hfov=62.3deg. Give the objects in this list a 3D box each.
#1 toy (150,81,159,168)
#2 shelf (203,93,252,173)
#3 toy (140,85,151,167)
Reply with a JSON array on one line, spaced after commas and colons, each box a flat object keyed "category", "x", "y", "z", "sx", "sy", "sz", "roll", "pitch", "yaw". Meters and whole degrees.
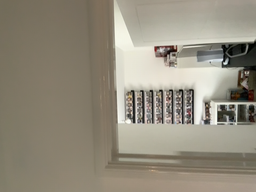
[{"category": "toy", "x": 0.570, "y": 0.600, "z": 4.490, "sx": 0.180, "sy": 0.160, "sz": 1.810, "roll": -30, "pitch": -61, "yaw": -81}, {"category": "shelf", "x": 1.910, "y": 0.710, "z": 4.160, "sx": 0.420, "sy": 0.760, "sz": 1.460, "roll": -48, "pitch": -44, "yaw": -78}, {"category": "toy", "x": 0.370, "y": 0.630, "z": 4.520, "sx": 0.210, "sy": 0.200, "sz": 1.730, "roll": -24, "pitch": -67, "yaw": -81}]
